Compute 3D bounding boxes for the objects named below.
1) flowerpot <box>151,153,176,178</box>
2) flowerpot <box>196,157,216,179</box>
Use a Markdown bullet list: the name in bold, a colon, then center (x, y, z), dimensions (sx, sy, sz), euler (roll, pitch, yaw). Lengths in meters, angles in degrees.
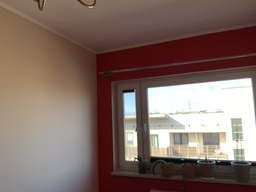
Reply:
- **flowerpot**: center (0.450, 0.880, 2.700), dimensions (0.270, 0.260, 0.160), euler (-4, -6, 23)
- **flowerpot**: center (0.920, 0.850, 2.500), dimensions (0.200, 0.220, 0.090), euler (-4, -6, 22)
